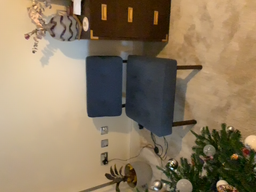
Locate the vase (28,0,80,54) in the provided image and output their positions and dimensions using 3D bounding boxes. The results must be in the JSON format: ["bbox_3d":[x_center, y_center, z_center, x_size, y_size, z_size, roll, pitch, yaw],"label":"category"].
[{"bbox_3d":[-0.580,-0.530,1.670,0.260,0.320,0.370,23,115,56],"label":"vase"}]
